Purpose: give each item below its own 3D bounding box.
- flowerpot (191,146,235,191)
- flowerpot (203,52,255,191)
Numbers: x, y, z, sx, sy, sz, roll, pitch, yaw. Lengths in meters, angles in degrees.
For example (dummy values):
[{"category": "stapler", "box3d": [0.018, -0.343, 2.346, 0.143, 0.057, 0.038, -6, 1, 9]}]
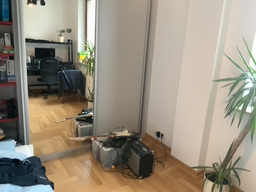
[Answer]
[{"category": "flowerpot", "box3d": [0.880, 0.820, 2.190, 0.270, 0.400, 0.430, 14, 18, 34]}, {"category": "flowerpot", "box3d": [1.110, 0.370, 1.940, 0.370, 1.470, 0.480, -7, 18, -36]}]
